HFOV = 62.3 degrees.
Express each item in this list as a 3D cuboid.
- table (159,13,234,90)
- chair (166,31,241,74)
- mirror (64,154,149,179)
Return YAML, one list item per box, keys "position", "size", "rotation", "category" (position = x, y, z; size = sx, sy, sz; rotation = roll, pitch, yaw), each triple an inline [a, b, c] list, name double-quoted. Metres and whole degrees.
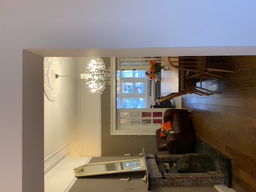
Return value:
- position: [1.110, -0.650, 3.980]
  size: [2.030, 0.760, 1.020]
  rotation: [4, -94, -89]
  category: "table"
- position: [1.040, -0.600, 3.060]
  size: [0.530, 0.880, 0.480]
  rotation: [67, -157, -87]
  category: "chair"
- position: [-0.340, 1.220, 3.750]
  size: [0.750, 1.360, 0.190]
  rotation: [2, -92, -89]
  category: "mirror"
